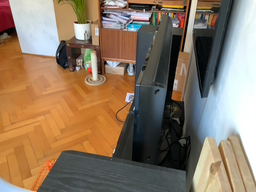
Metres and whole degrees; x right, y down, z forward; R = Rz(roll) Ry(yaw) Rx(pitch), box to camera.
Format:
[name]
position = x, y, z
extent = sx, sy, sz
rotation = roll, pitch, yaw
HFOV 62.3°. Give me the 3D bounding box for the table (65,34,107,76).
[table]
position = -0.610, -0.640, 3.230
extent = 0.480, 0.460, 0.420
rotation = 8, 33, 10
